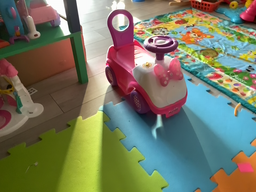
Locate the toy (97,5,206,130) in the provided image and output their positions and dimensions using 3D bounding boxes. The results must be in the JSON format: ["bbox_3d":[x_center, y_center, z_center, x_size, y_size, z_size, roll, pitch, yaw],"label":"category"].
[{"bbox_3d":[0.070,-0.170,1.050,0.210,0.370,0.530,-21,44,-23],"label":"toy"}]
